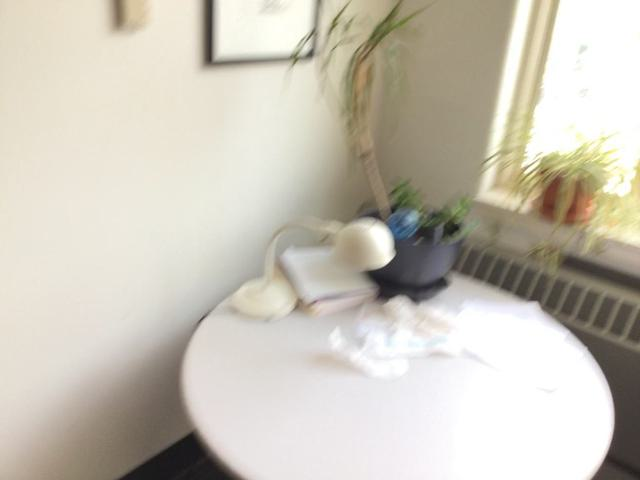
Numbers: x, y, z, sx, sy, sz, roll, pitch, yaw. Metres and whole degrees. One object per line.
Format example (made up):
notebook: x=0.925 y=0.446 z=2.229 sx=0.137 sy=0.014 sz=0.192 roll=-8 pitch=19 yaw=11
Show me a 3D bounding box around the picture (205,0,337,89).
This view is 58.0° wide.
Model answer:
picture: x=-0.110 y=-0.840 z=1.570 sx=0.030 sy=0.800 sz=0.500 roll=21 pitch=28 yaw=35
